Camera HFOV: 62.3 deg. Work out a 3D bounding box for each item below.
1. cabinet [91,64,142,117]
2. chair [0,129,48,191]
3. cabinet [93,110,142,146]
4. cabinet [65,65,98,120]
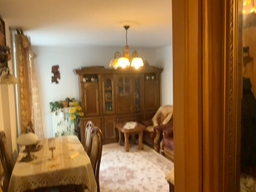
[{"bbox_3d":[-0.320,-0.180,5.820,1.220,1.330,0.630,-4,5,-22],"label":"cabinet"},{"bbox_3d":[-1.270,1.000,2.490,0.580,1.080,0.420,-4,5,-23],"label":"chair"},{"bbox_3d":[-0.300,0.860,5.940,1.220,0.760,0.560,-4,5,-22],"label":"cabinet"},{"bbox_3d":[-1.210,-0.120,5.480,0.690,1.310,0.590,-4,5,-22],"label":"cabinet"}]
